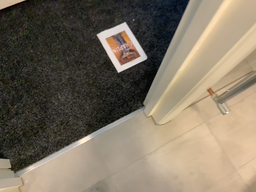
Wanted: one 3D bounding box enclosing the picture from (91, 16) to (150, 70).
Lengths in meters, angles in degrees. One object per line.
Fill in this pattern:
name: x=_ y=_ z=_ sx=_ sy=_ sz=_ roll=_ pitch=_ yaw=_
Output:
picture: x=-0.050 y=-0.340 z=1.340 sx=0.270 sy=0.040 sz=0.270 roll=-28 pitch=76 yaw=-12
